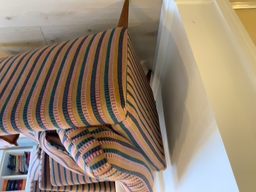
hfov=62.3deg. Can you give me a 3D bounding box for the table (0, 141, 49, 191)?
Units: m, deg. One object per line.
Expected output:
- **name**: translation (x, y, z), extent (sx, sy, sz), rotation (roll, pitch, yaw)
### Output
- **table**: translation (-1.200, 0.850, 2.370), extent (0.440, 0.540, 0.400), rotation (-3, 147, -3)

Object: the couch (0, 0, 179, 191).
- **couch**: translation (-0.280, 0.100, 1.110), extent (0.830, 0.790, 0.890), rotation (-14, 146, 13)
